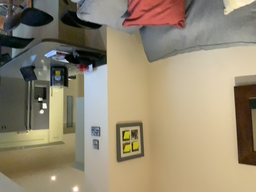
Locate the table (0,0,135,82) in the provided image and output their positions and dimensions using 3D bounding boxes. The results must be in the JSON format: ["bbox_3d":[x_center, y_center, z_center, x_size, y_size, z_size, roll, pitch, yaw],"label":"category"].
[{"bbox_3d":[-0.970,-0.770,2.680,1.950,0.900,0.980,-4,174,43],"label":"table"}]

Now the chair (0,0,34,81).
[{"bbox_3d":[-1.390,-0.720,2.420,0.450,1.020,0.450,3,175,-42],"label":"chair"}]
